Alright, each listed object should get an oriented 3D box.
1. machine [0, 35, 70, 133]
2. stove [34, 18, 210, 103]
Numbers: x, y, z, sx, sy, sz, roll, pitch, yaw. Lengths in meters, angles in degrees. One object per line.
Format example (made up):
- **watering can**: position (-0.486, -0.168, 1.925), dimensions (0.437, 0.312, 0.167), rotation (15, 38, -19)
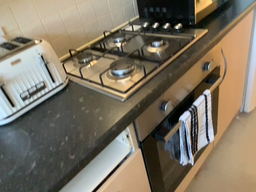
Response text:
- **machine**: position (-0.450, -0.060, 0.760), dimensions (0.310, 0.180, 0.310), rotation (20, 47, 39)
- **stove**: position (-0.030, -0.230, 0.980), dimensions (0.560, 0.040, 0.600), rotation (20, 47, 39)
